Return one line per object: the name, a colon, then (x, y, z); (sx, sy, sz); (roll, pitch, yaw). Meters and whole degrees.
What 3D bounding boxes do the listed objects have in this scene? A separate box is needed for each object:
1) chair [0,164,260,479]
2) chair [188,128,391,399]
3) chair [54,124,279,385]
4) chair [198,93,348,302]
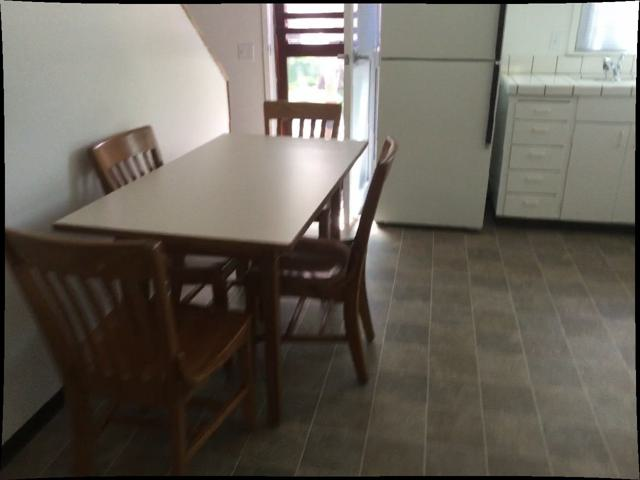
chair: (-0.529, 0.300, 1.720); (0.519, 0.901, 0.550); (4, 24, 10)
chair: (-0.080, 0.070, 2.260); (0.639, 0.891, 0.480); (4, 24, 10)
chair: (-0.569, 0.040, 2.390); (0.659, 0.911, 0.490); (4, 24, 10)
chair: (-0.200, -0.250, 3.030); (0.599, 0.901, 0.630); (4, 25, 10)
